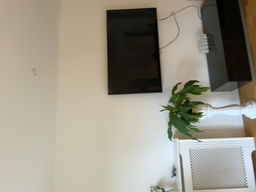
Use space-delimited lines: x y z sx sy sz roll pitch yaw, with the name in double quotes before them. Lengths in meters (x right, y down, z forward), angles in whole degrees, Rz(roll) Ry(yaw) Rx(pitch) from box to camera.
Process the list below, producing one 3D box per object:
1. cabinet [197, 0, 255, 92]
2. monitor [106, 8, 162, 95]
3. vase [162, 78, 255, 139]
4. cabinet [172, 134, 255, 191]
"cabinet" 1.240 -0.720 2.730 0.470 0.390 1.250 95 173 -77
"monitor" 0.060 -0.630 2.890 0.070 0.700 1.230 95 173 -77
"vase" 0.950 0.150 2.490 0.300 1.010 0.630 99 169 -81
"cabinet" 1.050 1.080 2.440 0.210 0.930 1.210 95 173 -77
